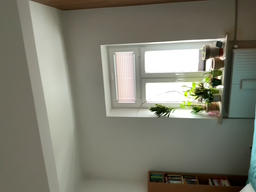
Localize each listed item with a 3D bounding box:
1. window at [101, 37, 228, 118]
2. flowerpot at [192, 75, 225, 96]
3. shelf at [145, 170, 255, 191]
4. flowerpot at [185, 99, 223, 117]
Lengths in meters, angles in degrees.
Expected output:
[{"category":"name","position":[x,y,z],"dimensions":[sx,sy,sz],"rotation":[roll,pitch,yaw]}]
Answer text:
[{"category":"window","position":[0.560,-0.290,3.560],"dimensions":[0.170,1.970,1.280],"rotation":[-56,-35,-75]},{"category":"flowerpot","position":[1.260,-0.170,3.360],"dimensions":[0.290,0.430,0.280],"rotation":[-58,-34,-74]},{"category":"shelf","position":[1.260,1.460,3.490],"dimensions":[0.320,1.930,0.230],"rotation":[-58,-33,-74]},{"category":"flowerpot","position":[1.230,0.190,3.470],"dimensions":[0.250,0.530,0.240],"rotation":[-51,-40,-77]}]
